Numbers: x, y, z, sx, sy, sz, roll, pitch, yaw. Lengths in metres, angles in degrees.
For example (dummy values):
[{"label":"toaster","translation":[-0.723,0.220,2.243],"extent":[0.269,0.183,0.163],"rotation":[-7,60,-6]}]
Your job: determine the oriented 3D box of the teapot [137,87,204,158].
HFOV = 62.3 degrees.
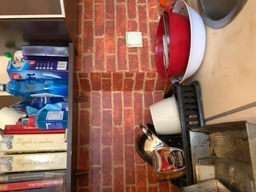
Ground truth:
[{"label":"teapot","translation":[0.160,0.130,0.930],"extent":[0.300,0.190,0.260],"rotation":[107,161,-74]}]
